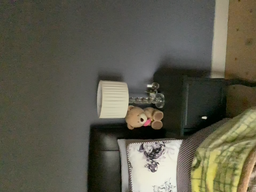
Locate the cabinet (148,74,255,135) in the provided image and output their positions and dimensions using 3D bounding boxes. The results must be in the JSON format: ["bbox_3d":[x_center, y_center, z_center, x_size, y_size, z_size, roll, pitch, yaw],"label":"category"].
[{"bbox_3d":[0.580,0.040,1.650,0.420,0.730,0.380,-168,79,-69],"label":"cabinet"}]
